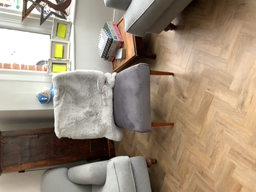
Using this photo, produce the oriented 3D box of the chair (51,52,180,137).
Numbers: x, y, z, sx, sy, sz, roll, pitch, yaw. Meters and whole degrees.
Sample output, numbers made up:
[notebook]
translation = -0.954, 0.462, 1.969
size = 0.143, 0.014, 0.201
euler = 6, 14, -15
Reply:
[chair]
translation = -0.130, 0.010, 1.680
size = 0.670, 0.790, 0.480
euler = -6, 85, 59
